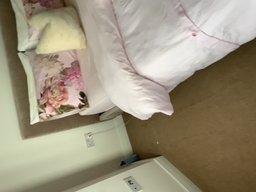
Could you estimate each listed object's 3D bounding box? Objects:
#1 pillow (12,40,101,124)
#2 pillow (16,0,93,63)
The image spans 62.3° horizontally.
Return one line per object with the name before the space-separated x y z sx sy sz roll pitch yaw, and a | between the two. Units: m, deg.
pillow | -0.600 -0.130 1.840 0.560 0.440 0.190 49 141 -7
pillow | -0.600 -0.570 1.780 0.380 0.440 0.200 49 141 -7
